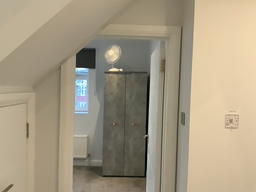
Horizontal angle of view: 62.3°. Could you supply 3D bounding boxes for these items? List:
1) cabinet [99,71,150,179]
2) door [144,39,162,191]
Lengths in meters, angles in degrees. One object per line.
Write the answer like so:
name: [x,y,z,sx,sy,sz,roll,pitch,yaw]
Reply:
cabinet: [-0.070,0.500,3.930,0.840,1.860,0.560,2,2,-2]
door: [0.240,0.480,2.200,0.050,1.960,0.720,2,2,0]
